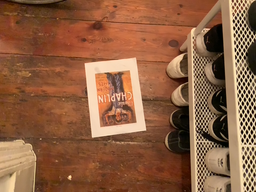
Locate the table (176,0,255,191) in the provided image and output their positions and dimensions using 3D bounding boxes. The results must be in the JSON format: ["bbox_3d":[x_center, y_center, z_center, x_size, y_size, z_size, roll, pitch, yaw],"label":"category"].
[{"bbox_3d":[0.380,0.120,0.650,0.340,0.390,0.840,2,81,-4],"label":"table"}]
